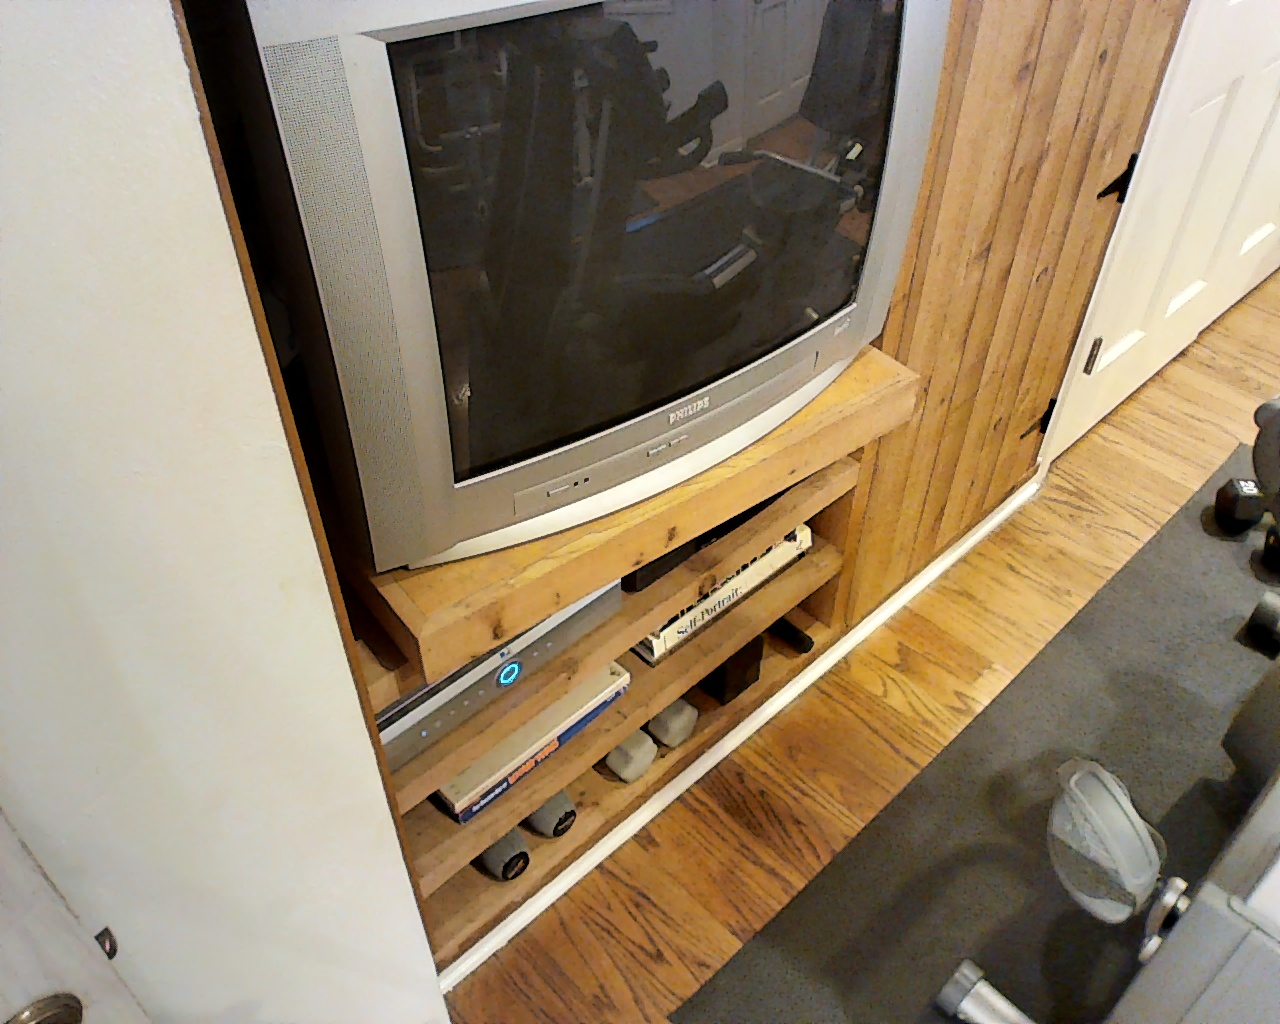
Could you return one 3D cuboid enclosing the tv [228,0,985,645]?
[{"bbox_3d":[0.040,-0.300,1.080,0.760,0.600,0.140,-32,52,-30],"label":"tv"}]
